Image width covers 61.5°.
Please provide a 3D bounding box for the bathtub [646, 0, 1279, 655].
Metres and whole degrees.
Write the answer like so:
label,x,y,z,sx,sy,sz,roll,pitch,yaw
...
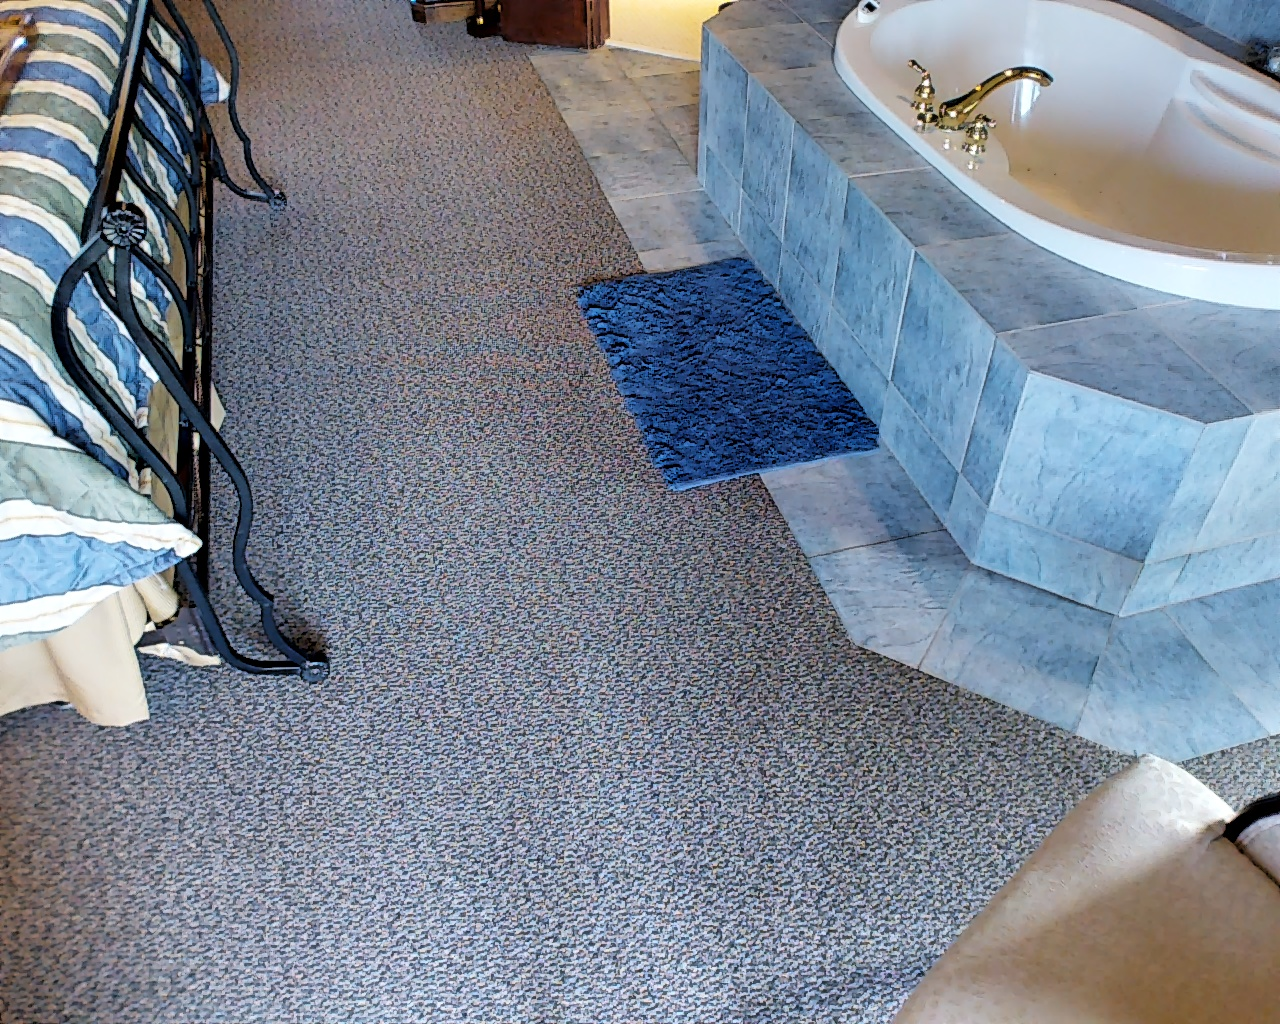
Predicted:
label,x,y,z,sx,sy,sz,roll,pitch,yaw
bathtub,1.010,-0.900,2.870,1.370,0.660,2.470,-11,44,-11
